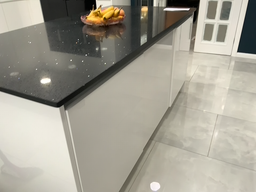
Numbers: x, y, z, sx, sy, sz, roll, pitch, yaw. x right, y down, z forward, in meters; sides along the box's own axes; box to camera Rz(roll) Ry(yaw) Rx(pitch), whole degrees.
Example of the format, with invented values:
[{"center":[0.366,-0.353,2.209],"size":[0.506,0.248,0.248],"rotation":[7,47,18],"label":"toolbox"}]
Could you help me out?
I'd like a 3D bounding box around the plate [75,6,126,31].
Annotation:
[{"center":[-0.180,-0.550,1.490],"size":[0.240,0.110,0.270],"rotation":[12,33,23],"label":"plate"}]
